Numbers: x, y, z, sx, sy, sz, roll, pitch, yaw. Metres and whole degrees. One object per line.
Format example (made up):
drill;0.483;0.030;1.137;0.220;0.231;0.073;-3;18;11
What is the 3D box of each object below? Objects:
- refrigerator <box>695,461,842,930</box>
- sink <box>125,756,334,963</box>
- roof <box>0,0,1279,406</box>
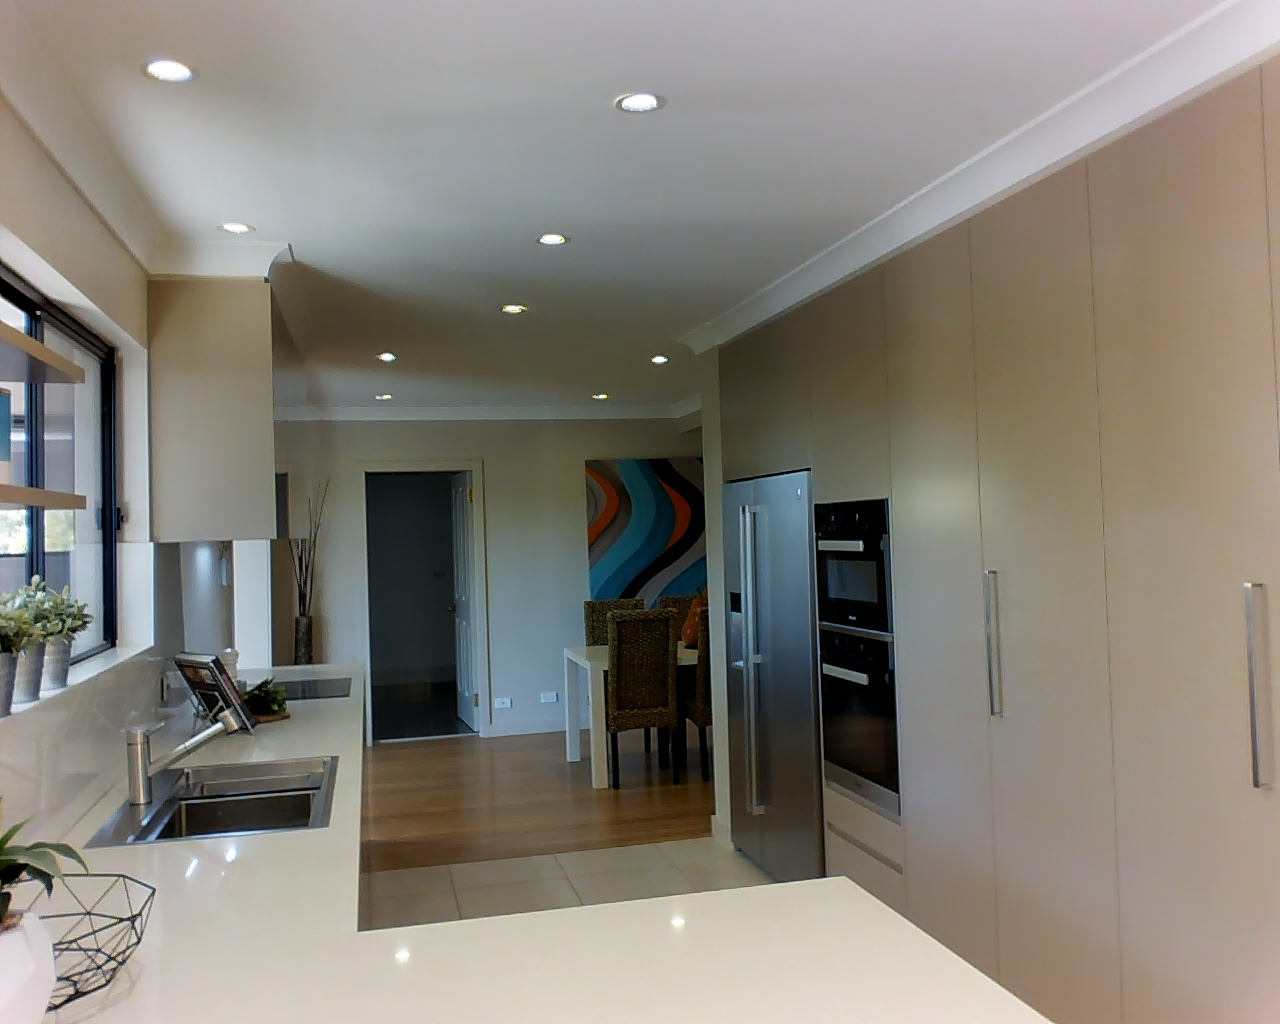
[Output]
refrigerator;0.520;0.710;4.620;0.180;1.781;1.080;-2;-1;-15
sink;-1.000;0.840;2.710;0.400;0.260;0.770;-2;-1;-14
roof;-0.330;-0.780;3.390;3.169;0.230;5.110;-2;-1;-14
